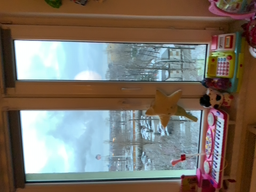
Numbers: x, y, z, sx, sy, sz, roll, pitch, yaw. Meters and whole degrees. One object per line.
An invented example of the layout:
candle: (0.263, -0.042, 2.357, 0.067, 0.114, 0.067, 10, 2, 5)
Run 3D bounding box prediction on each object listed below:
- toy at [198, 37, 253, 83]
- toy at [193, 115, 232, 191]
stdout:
toy: (0.570, -0.220, 1.280, 0.270, 0.160, 0.240, -112, 23, -77)
toy: (0.530, 0.430, 1.370, 0.210, 0.080, 0.570, -107, 18, -74)
